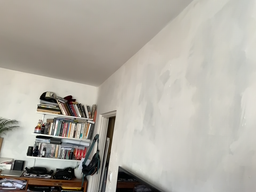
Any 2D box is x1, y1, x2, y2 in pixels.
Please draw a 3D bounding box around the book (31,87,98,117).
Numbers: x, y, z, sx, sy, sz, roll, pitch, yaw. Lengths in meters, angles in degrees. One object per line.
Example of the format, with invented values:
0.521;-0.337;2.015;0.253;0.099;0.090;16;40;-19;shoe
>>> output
-0.920;0.100;3.140;0.880;0.270;0.210;11;-12;-18;book
